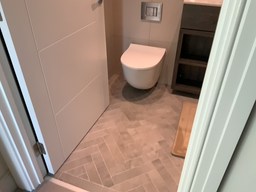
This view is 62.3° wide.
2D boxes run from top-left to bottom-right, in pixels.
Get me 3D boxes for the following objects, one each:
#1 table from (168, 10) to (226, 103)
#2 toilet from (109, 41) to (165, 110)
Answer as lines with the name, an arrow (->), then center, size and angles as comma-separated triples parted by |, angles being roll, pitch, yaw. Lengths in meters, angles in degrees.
table -> 0.670, -0.400, 2.080 | 0.370, 0.700, 0.530 | 12, 37, 17
toilet -> 0.100, -0.220, 2.050 | 0.370, 0.430, 0.500 | 13, 37, 17
